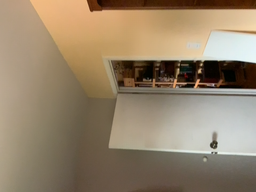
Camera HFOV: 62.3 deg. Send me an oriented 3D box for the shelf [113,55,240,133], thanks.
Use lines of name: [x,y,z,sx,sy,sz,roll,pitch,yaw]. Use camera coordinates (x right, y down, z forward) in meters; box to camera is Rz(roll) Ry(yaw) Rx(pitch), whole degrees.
shelf: [0.880,-0.060,4.140,0.400,2.280,1.390,-22,-66,-84]
